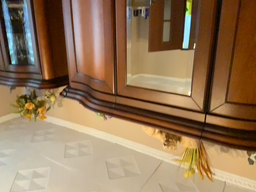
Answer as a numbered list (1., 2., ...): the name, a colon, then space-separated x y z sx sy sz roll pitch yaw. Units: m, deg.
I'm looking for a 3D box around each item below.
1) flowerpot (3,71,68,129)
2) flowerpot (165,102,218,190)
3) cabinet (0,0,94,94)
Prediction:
1. flowerpot: -0.940 0.010 2.210 0.380 0.440 0.430 12 -158 31
2. flowerpot: 0.410 0.300 1.360 0.220 0.420 0.290 11 -159 29
3. cabinet: -0.940 -0.780 1.900 1.080 1.260 0.590 11 -159 30
